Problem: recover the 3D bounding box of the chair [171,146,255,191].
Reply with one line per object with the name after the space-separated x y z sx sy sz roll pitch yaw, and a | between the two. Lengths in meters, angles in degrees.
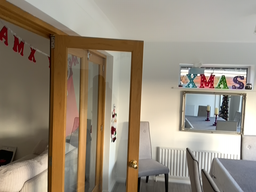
0.730 1.060 1.960 0.610 1.020 0.530 3 3 6 | chair
